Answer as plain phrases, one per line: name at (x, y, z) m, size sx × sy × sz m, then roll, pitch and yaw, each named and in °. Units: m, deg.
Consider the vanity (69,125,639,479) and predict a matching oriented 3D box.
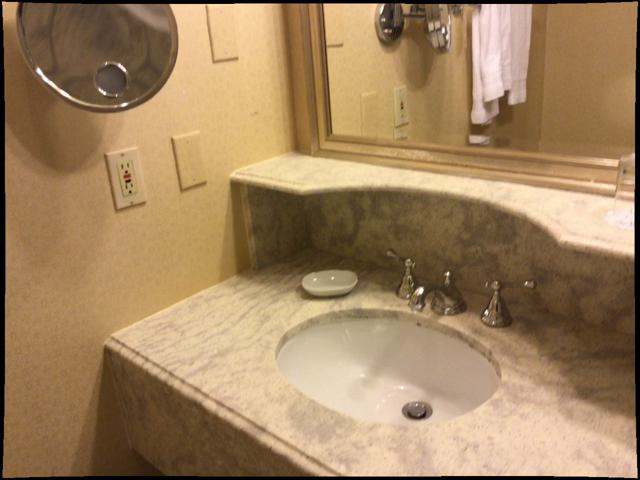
vanity at (0.380, 0.260, 0.850) m, size 1.659 × 0.631 × 0.610 m, roll 15°, pitch 29°, yaw 40°
